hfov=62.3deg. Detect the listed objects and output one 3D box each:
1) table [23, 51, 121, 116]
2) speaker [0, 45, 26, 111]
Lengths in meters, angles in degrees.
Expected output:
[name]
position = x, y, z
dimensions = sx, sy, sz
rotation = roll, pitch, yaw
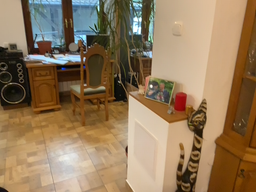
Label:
[table]
position = -0.950, -0.290, 3.730
dimensions = 1.460, 0.810, 0.730
rotation = -9, 23, -27
[speaker]
position = -1.890, -0.300, 3.400
dimensions = 0.340, 0.960, 0.410
rotation = -8, 22, -23
